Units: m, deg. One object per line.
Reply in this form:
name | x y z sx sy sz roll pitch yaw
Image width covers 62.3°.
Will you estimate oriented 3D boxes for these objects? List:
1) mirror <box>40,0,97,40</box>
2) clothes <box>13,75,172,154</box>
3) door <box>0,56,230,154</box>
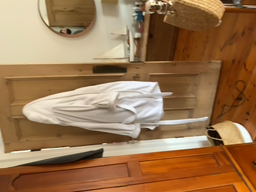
mirror | -0.850 -1.260 3.110 0.240 0.750 0.800 -109 19 -57
clothes | -0.270 0.150 1.910 0.230 1.240 0.590 -113 23 -62
door | -0.160 0.080 2.070 0.110 2.270 0.890 -113 22 -62
